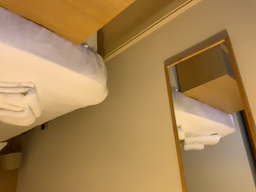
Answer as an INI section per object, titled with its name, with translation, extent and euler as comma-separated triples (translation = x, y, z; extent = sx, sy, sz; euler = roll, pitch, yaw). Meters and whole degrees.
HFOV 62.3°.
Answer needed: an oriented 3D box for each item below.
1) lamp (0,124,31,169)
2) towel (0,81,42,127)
[lamp]
translation = -1.340, 0.600, 2.490
extent = 0.250, 0.470, 0.250
euler = -24, 151, 38
[towel]
translation = -0.640, 0.060, 1.100
extent = 0.330, 0.090, 0.440
euler = 3, 156, -18
